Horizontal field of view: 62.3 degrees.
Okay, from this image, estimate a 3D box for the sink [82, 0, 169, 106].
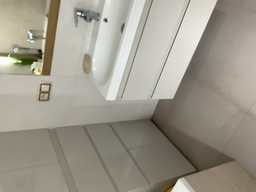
[{"bbox_3d":[-0.040,-0.400,1.290,0.410,0.190,0.830,47,128,44],"label":"sink"}]
